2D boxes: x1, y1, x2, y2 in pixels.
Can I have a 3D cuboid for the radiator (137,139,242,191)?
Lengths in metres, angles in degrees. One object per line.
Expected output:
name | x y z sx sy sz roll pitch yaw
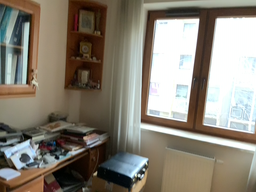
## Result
radiator | 0.620 0.910 2.320 1.020 0.650 0.150 8 7 26

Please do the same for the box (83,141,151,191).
box | -0.070 0.720 2.170 0.470 0.230 0.720 7 7 15
